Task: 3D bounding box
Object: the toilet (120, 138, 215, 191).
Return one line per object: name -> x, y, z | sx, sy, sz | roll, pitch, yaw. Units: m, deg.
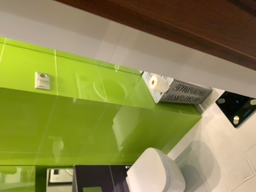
toilet -> 0.300, 0.700, 1.820 | 0.540, 0.480, 0.400 | -58, 36, 34
